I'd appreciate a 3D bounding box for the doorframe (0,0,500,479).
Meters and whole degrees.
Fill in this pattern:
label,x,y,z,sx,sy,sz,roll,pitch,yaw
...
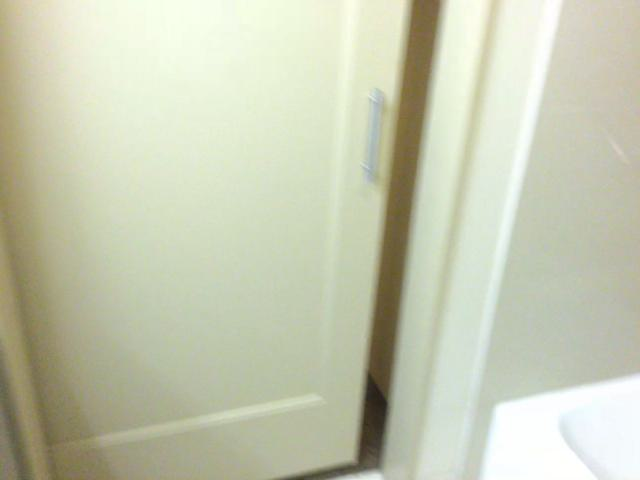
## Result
label,x,y,z,sx,sy,sz,roll,pitch,yaw
doorframe,-0.170,0.100,1.220,0.910,1.420,0.190,-5,27,-15
